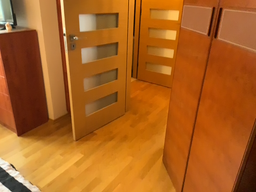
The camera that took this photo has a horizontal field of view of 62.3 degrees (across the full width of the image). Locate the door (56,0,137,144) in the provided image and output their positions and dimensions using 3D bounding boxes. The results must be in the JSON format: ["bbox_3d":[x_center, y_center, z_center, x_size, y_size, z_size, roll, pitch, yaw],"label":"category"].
[{"bbox_3d":[-0.270,-0.550,2.220,0.130,2.010,0.930,21,30,35],"label":"door"}]
